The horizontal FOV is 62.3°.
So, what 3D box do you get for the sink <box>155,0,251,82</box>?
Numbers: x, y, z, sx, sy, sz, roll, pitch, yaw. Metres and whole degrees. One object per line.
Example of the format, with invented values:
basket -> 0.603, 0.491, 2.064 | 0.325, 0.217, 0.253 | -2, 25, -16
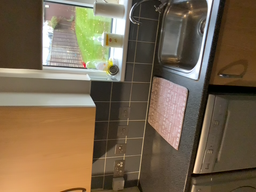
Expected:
sink -> 0.400, -0.340, 1.270 | 0.440, 0.260, 0.420 | -138, 51, -65
